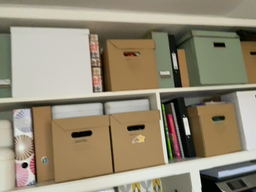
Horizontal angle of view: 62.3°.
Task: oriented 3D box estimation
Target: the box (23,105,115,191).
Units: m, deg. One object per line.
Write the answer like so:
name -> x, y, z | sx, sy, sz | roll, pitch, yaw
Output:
box -> -0.270, 0.260, 0.990 | 0.350, 0.390, 0.210 | -4, -9, -17

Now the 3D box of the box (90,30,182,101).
box -> 0.020, -0.160, 1.230 | 0.430, 0.310, 0.320 | -4, -9, -14
